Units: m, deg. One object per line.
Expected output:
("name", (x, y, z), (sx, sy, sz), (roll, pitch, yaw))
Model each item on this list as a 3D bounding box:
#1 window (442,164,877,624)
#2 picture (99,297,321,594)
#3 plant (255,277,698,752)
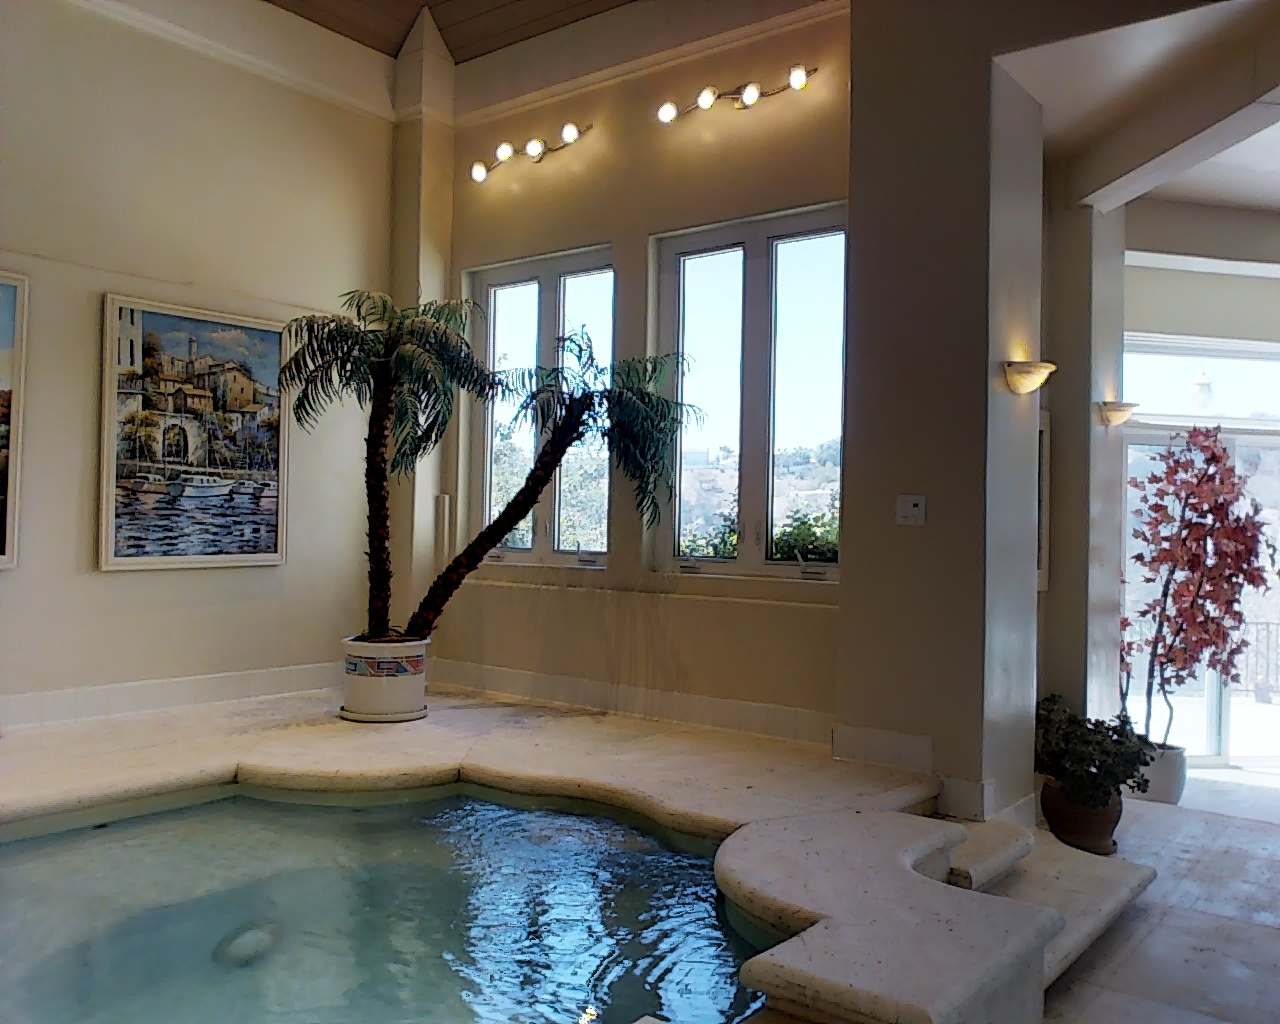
("window", (-0.040, -0.550, 5.790), (2.690, 2.100, 0.240), (1, -1, 38))
("picture", (-2.180, -0.300, 5.540), (0.060, 1.410, 1.150), (1, -1, 38))
("plant", (-0.780, 0.000, 5.420), (1.930, 2.080, 0.980), (1, -1, 15))
